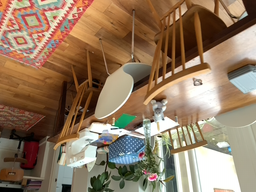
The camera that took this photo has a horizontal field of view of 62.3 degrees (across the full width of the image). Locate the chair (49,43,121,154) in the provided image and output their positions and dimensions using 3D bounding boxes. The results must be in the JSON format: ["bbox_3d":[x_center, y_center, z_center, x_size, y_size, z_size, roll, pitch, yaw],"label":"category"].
[{"bbox_3d":[-0.390,0.040,2.120,0.480,0.920,0.420,24,143,-38],"label":"chair"}]

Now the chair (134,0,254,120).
[{"bbox_3d":[0.370,-0.390,1.380,0.480,0.920,0.420,24,143,-38],"label":"chair"}]

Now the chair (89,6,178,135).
[{"bbox_3d":[0.040,-0.190,1.790,0.430,0.850,0.520,-26,143,37],"label":"chair"}]
